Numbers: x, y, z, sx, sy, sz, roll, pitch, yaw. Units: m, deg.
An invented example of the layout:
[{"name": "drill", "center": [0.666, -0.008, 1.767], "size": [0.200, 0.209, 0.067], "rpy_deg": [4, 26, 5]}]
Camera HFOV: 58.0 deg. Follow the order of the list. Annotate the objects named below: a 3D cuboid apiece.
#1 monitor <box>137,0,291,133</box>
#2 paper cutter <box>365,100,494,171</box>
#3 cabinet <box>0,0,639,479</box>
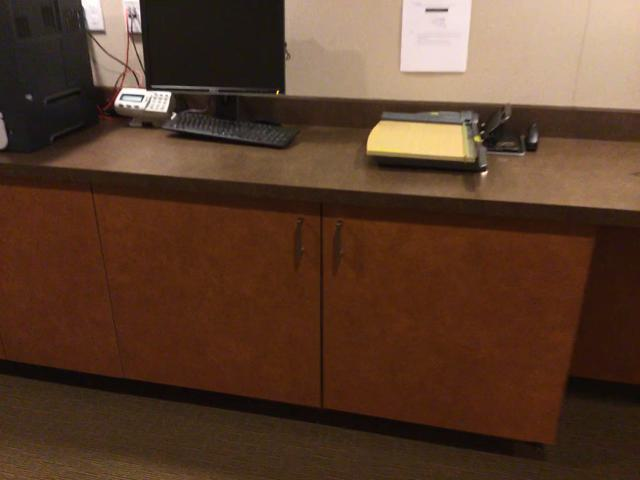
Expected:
[{"name": "monitor", "center": [-0.330, -0.580, 1.860], "size": [0.450, 0.410, 0.140], "rpy_deg": [6, 23, 9]}, {"name": "paper cutter", "center": [0.330, -0.330, 1.770], "size": [0.340, 0.110, 0.390], "rpy_deg": [6, 23, 9]}, {"name": "cabinet", "center": [-0.110, -0.260, 1.700], "size": [3.960, 1.690, 0.800], "rpy_deg": [6, 23, 9]}]
